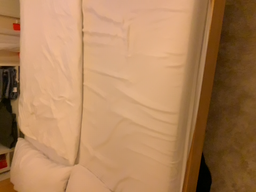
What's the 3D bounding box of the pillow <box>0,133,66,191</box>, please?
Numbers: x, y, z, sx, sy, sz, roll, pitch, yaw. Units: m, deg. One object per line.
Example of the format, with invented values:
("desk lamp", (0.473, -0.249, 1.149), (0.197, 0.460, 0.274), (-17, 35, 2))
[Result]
("pillow", (-0.710, 0.540, 1.560), (0.580, 0.190, 0.360), (10, 102, 37))
